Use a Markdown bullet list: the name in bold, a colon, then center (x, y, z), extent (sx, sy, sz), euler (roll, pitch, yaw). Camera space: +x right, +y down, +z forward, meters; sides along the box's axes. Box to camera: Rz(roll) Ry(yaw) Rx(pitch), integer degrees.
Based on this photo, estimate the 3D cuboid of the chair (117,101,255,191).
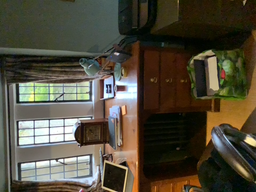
- **chair**: center (0.570, 0.540, 1.210), extent (0.720, 1.000, 0.710), euler (-119, 35, -49)
